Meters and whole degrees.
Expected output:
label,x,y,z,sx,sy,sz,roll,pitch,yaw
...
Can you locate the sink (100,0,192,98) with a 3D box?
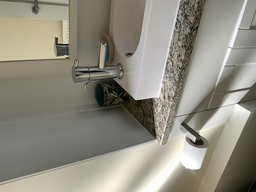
label,x,y,z,sx,sy,sz,roll,pitch,yaw
sink,0.050,-0.330,0.670,0.300,0.130,0.590,44,133,48
